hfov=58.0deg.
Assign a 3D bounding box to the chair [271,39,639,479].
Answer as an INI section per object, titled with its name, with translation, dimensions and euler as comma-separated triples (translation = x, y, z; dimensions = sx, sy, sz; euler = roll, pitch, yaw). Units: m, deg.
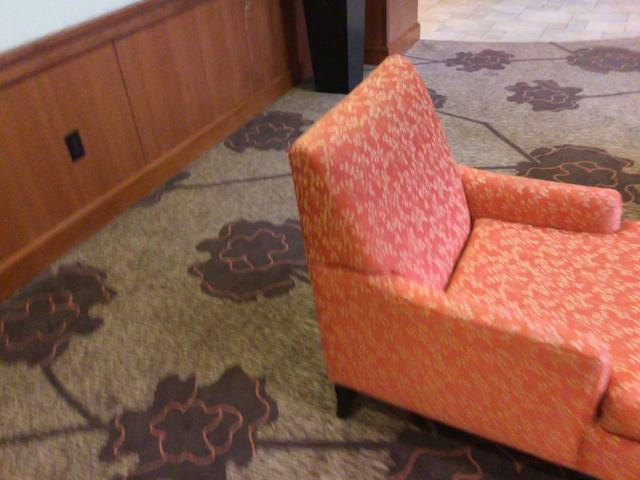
[chair]
translation = 0.550, 0.060, 1.570
dimensions = 0.900, 0.960, 0.770
euler = 6, 33, 31
